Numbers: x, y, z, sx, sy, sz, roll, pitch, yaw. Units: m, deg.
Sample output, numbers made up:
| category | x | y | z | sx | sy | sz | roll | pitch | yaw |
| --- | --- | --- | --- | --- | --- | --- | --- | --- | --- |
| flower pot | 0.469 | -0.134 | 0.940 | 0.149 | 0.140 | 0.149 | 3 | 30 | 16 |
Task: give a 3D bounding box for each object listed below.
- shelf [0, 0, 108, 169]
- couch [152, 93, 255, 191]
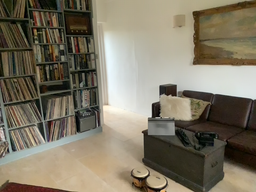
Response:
| category | x | y | z | sx | sy | sz | roll | pitch | yaw |
| --- | --- | --- | --- | --- | --- | --- | --- | --- | --- |
| shelf | -1.350 | -0.460 | 3.060 | 2.090 | 2.630 | 0.350 | -13 | 16 | -37 |
| couch | 1.260 | 0.510 | 2.980 | 0.870 | 0.740 | 1.720 | -12 | 17 | -39 |
